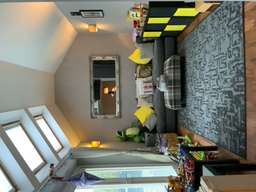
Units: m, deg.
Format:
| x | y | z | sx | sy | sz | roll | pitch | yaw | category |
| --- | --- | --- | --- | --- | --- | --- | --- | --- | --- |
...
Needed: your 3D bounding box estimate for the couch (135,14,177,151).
| x | y | z | sx | sy | sz | roll | pitch | yaw | category |
| --- | --- | --- | --- | --- | --- | --- | --- | --- | --- |
| 0.610 | -0.290 | 4.970 | 1.190 | 0.730 | 2.820 | -151 | 60 | -87 | couch |
